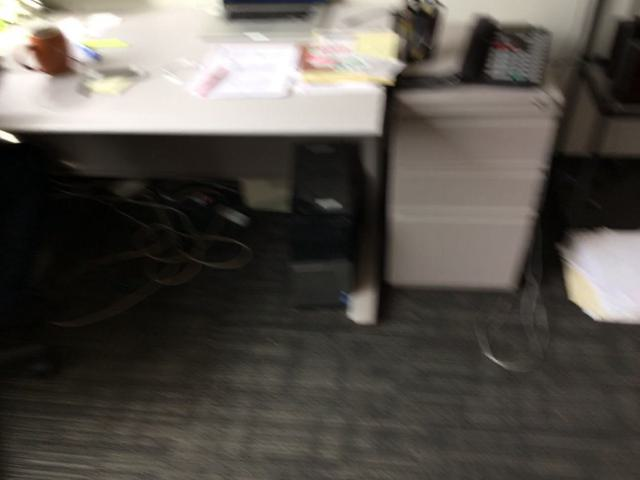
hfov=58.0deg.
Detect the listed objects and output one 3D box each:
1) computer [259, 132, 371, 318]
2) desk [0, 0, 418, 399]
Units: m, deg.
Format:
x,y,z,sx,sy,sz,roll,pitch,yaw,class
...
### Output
x,y,z,sx,sy,sz,roll,pitch,yaw,class
0.010,-0.060,1.790,0.240,0.360,0.460,3,39,11,computer
-0.590,-0.230,1.760,1.650,0.770,0.880,6,39,8,desk
